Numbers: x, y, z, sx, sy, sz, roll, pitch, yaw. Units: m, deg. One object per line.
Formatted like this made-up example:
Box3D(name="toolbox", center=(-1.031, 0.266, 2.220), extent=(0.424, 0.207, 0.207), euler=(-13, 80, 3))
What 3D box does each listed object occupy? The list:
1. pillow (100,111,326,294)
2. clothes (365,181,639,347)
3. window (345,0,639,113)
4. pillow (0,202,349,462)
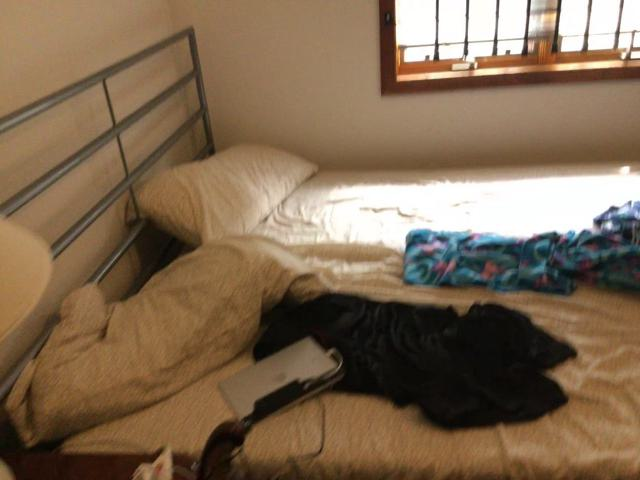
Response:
Box3D(name="pillow", center=(-0.290, -0.180, 2.020), extent=(0.540, 0.270, 0.900), euler=(-3, 27, 6))
Box3D(name="clothes", center=(0.660, 0.030, 1.510), extent=(1.070, 0.130, 0.580), euler=(-3, 27, 6))
Box3D(name="window", center=(0.750, -1.160, 1.930), extent=(1.370, 1.340, 0.180), euler=(-3, 27, 7))
Box3D(name="pillow", center=(-0.280, 0.160, 1.360), extent=(0.660, 0.180, 0.740), euler=(-3, 27, 7))
